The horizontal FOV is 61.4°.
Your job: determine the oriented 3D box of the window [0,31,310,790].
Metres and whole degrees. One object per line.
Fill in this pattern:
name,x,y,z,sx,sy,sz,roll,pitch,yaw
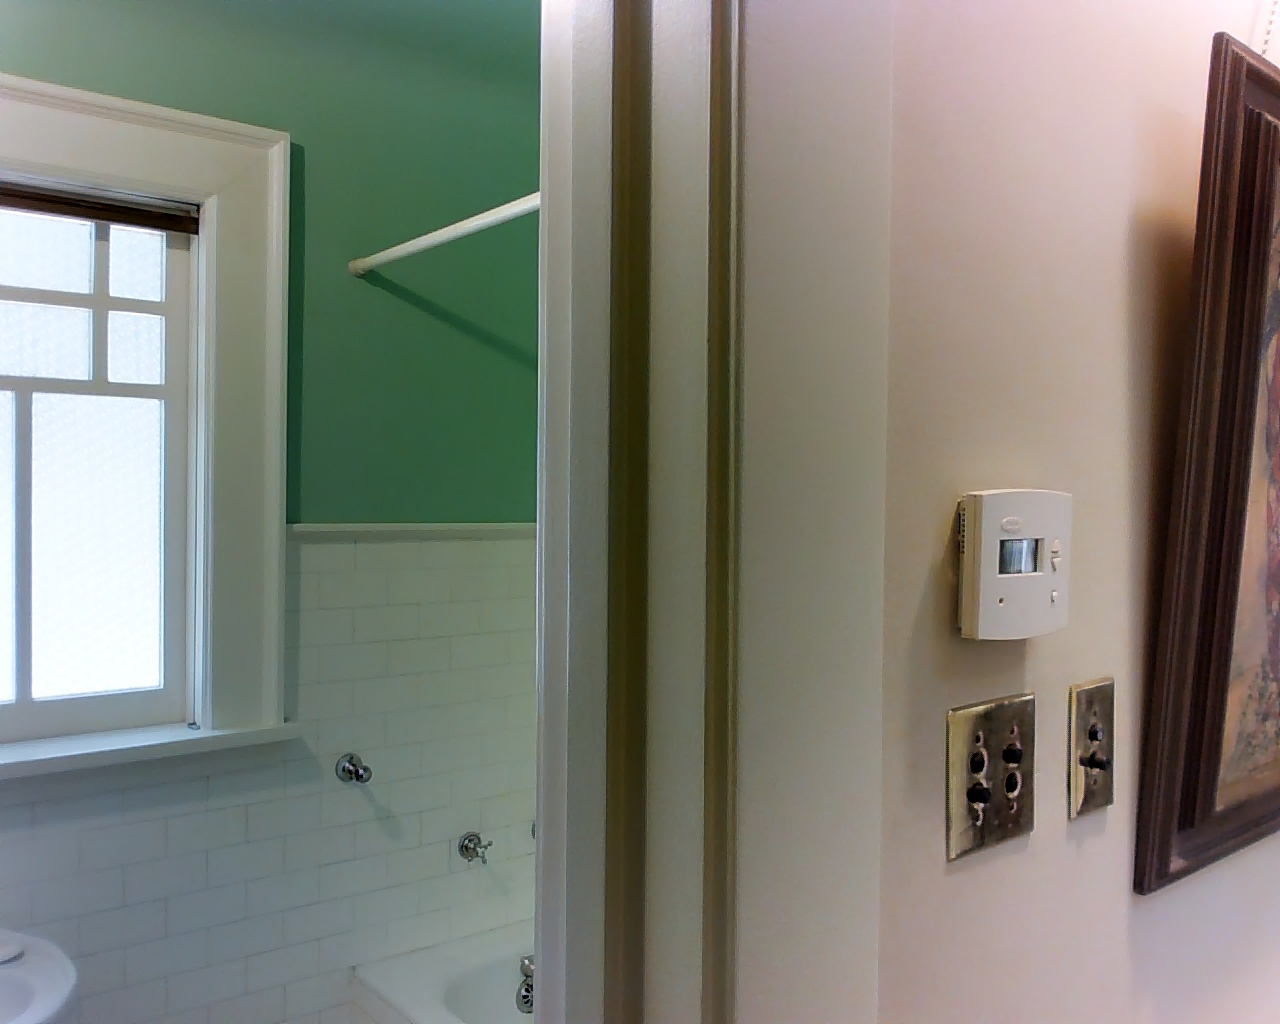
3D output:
window,-1.320,-0.170,1.780,1.510,1.290,0.210,0,1,-40
